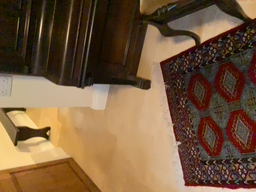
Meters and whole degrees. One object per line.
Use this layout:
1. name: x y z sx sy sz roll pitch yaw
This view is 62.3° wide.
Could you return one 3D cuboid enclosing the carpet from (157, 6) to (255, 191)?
1. carpet: 0.780 -0.020 1.050 1.430 0.020 0.970 -18 76 44
